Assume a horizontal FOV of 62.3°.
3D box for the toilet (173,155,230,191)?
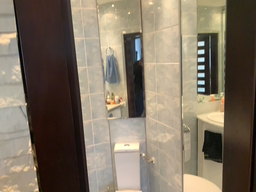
[{"bbox_3d":[0.700,0.970,2.010,0.440,0.580,0.500,1,11,22],"label":"toilet"}]
